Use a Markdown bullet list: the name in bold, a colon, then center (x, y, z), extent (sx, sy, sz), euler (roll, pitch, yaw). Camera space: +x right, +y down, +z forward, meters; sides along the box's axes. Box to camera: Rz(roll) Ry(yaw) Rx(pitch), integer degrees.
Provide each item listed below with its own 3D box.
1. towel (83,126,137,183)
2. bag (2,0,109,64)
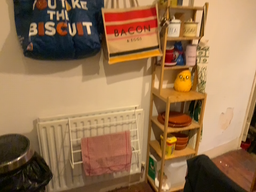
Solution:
- **towel**: center (-0.130, 0.430, 1.580), extent (0.340, 0.310, 0.130), euler (-13, 22, -14)
- **bag**: center (-0.400, -0.490, 1.230), extent (0.540, 0.540, 0.210), euler (-7, 23, -20)
